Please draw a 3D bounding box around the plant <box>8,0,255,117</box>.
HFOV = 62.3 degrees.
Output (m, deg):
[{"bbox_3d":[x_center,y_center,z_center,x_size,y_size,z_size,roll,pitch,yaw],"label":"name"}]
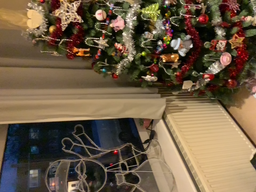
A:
[{"bbox_3d":[0.120,-0.490,1.670,1.100,1.690,1.160,173,96,-70],"label":"plant"}]
